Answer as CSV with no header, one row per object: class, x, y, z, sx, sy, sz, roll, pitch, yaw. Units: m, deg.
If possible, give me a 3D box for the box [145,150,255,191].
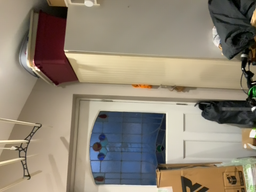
box,0.890,0.740,1.770,0.520,1.430,0.450,102,170,-67
